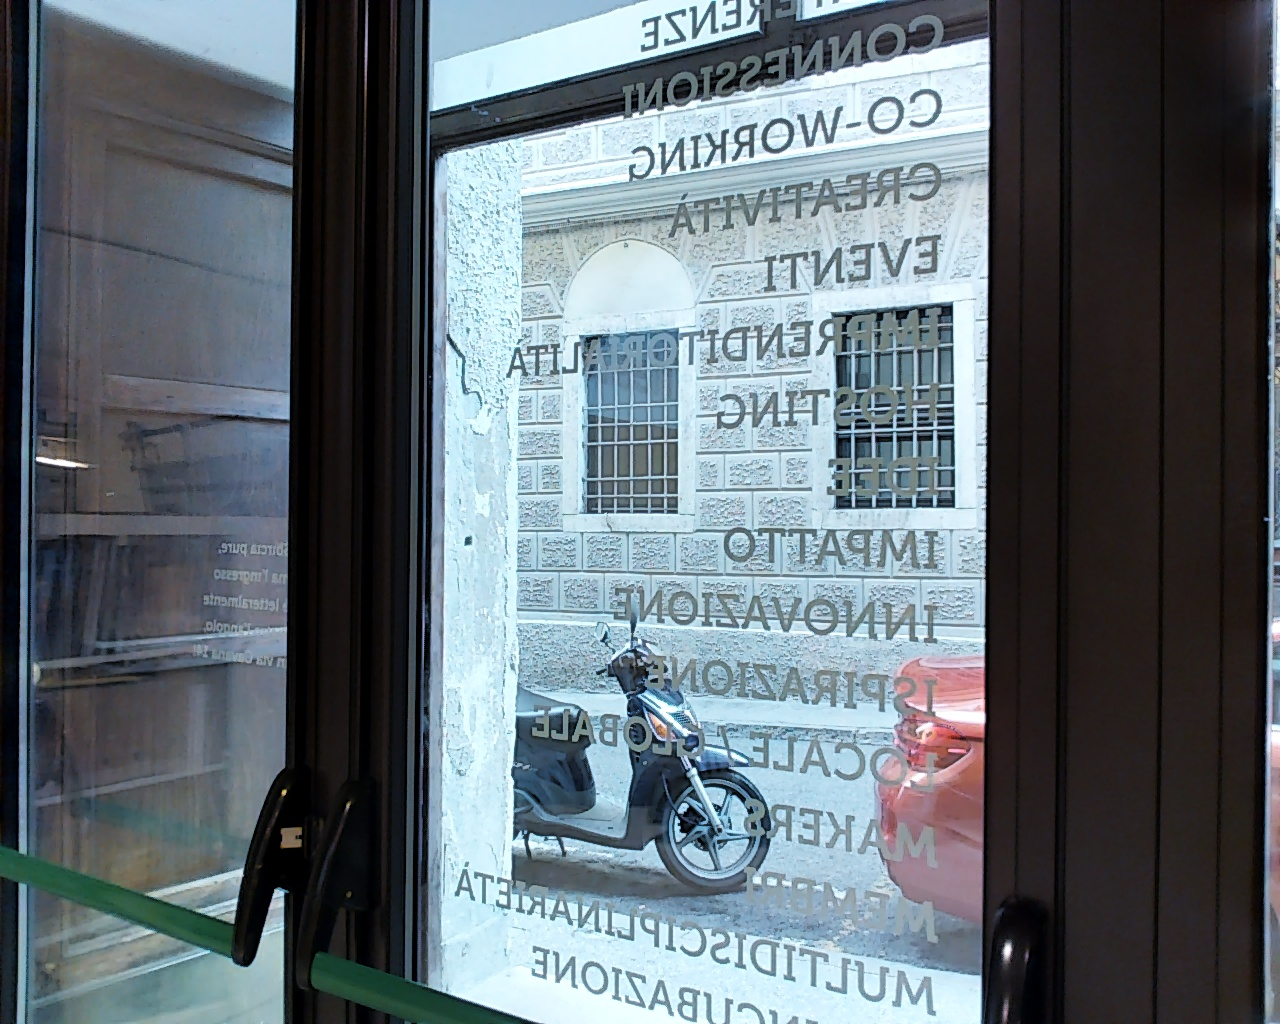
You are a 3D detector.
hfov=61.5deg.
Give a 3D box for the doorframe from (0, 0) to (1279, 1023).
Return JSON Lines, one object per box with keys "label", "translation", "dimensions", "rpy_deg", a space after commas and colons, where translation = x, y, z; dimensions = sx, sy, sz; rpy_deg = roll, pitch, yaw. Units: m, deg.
{"label": "doorframe", "translation": [-0.230, 0.170, 1.870], "dimensions": [3.179, 2.601, 1.150], "rpy_deg": [1, 0, 31]}
